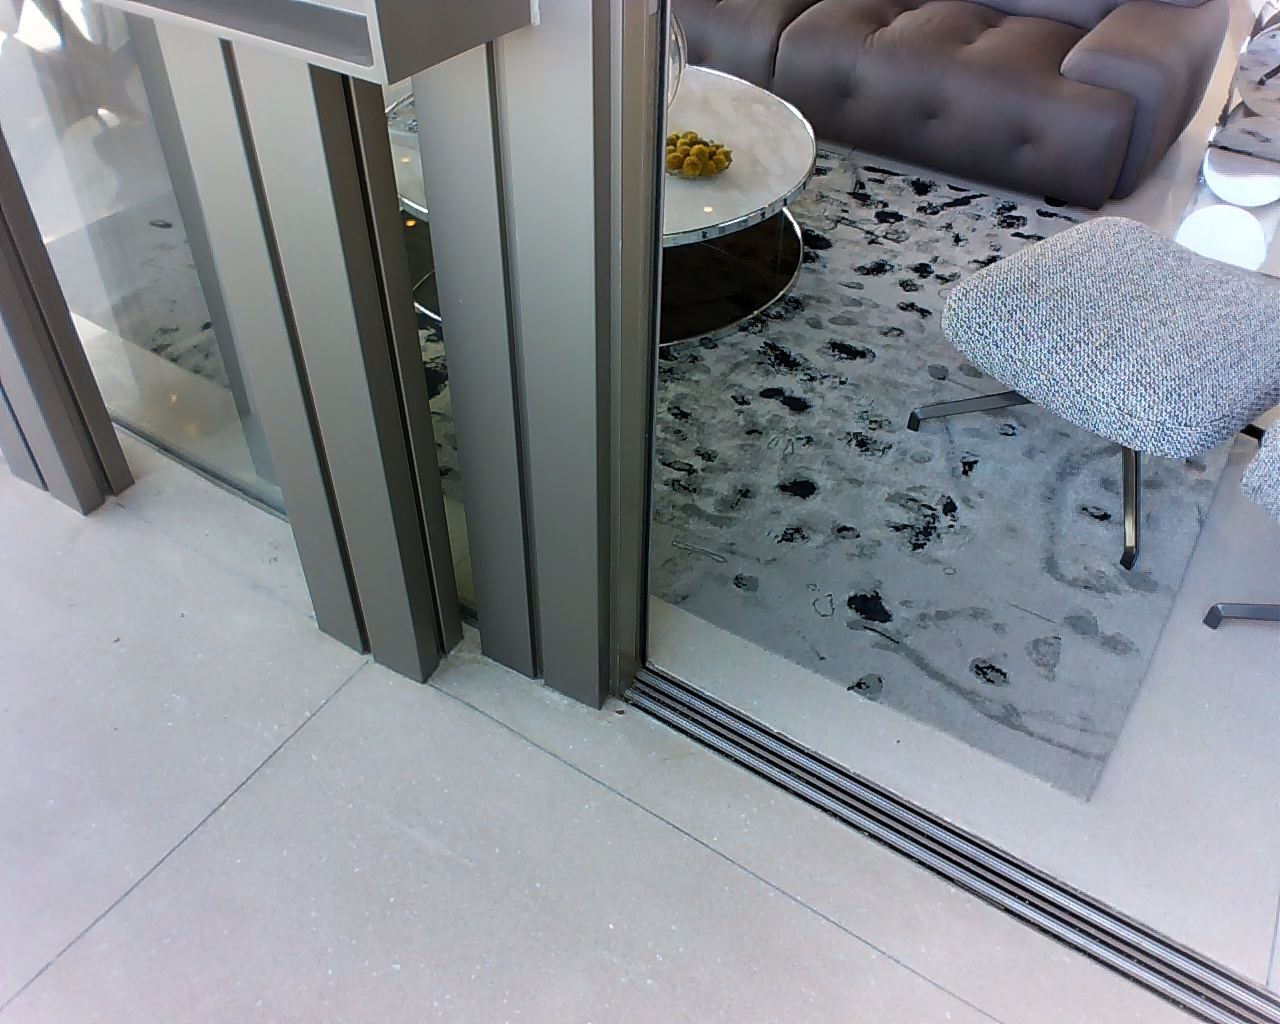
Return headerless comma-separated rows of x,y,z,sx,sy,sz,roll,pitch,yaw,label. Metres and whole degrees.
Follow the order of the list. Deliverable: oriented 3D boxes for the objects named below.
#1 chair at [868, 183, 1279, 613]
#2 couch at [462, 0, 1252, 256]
1.060,-0.300,2.370,0.760,0.420,0.710,-27,49,-28,chair
0.700,-1.840,3.870,2.520,0.700,1.190,26,47,24,couch
